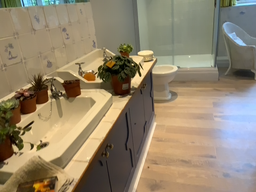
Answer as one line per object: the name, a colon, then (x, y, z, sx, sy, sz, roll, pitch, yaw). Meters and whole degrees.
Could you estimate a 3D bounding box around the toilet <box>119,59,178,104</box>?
toilet: (0.300, -0.210, 2.840, 0.690, 0.450, 0.440, 2, 25, 16)
